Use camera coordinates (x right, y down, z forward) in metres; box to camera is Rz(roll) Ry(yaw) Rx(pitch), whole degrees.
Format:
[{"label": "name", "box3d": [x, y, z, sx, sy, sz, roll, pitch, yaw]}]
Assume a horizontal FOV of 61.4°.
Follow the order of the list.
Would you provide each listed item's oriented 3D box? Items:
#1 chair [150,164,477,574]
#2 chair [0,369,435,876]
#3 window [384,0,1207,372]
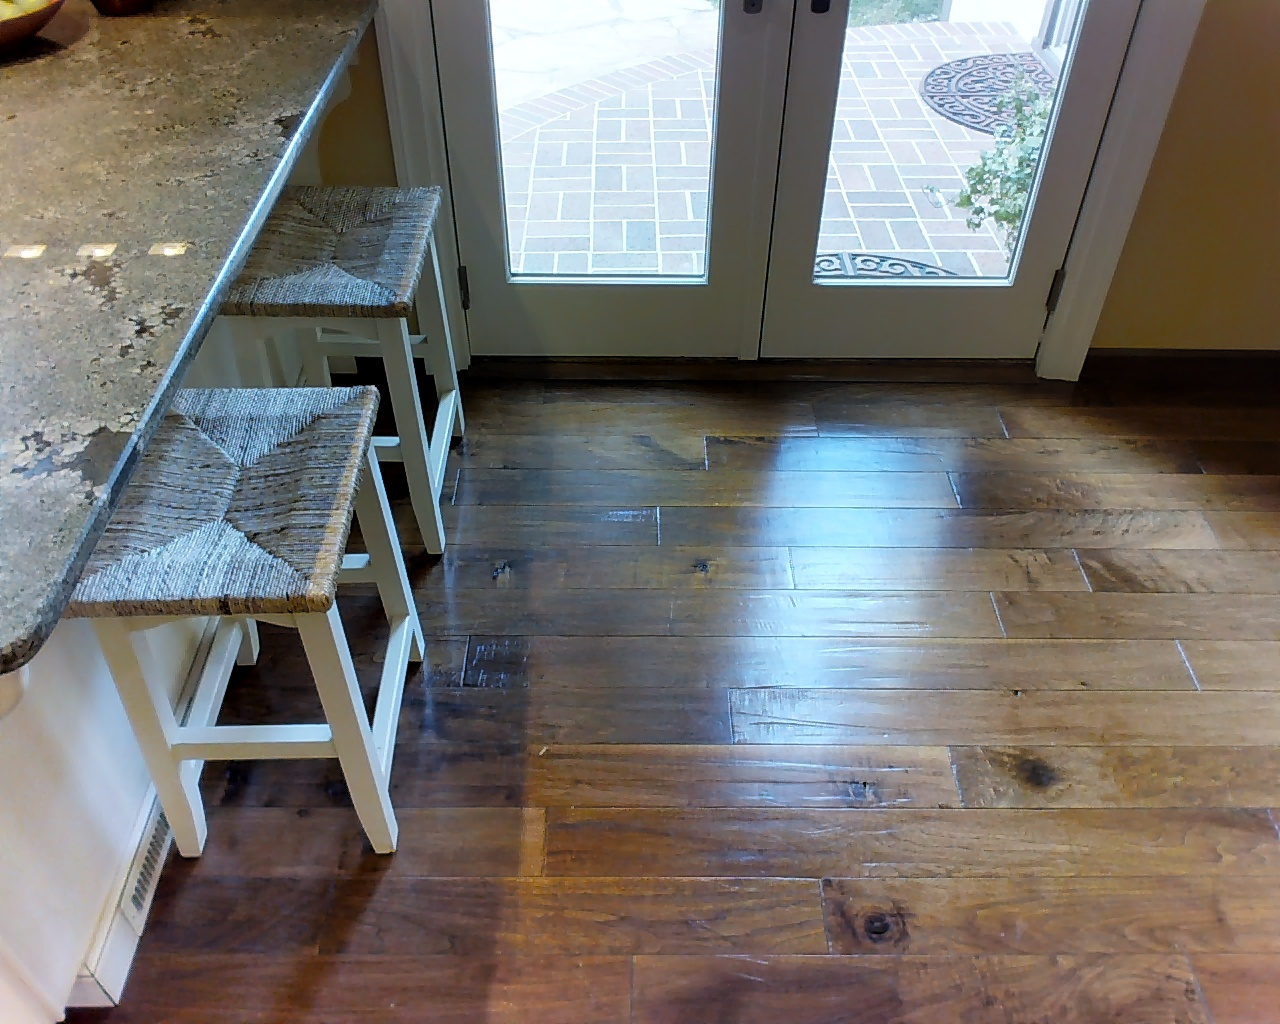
[{"label": "chair", "box3d": [-0.610, -0.290, 2.220, 0.430, 0.650, 0.530, 0, 42, -1]}, {"label": "chair", "box3d": [-0.600, 0.180, 1.710, 0.430, 0.630, 0.490, -2, 43, -3]}, {"label": "window", "box3d": [0.310, -1.150, 2.090, 1.630, 2.030, 0.130, 0, 42, -1]}]
